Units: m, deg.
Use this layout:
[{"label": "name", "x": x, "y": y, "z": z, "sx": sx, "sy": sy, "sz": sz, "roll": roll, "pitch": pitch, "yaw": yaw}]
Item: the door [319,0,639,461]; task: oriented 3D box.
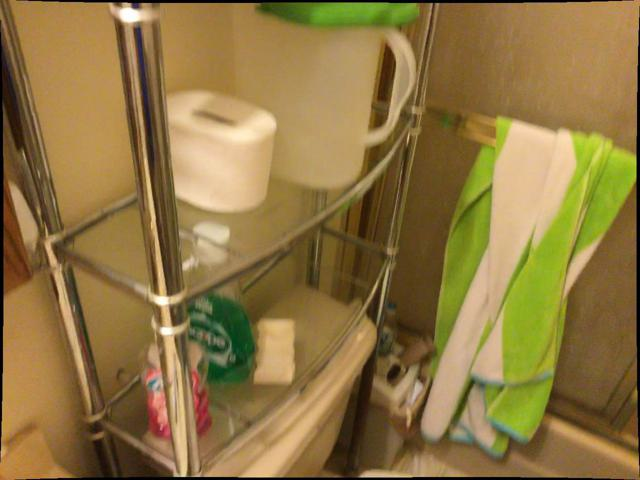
[{"label": "door", "x": 0.460, "y": -0.250, "z": 1.150, "sx": 0.840, "sy": 1.481, "sz": 0.190, "roll": 22, "pitch": 40, "yaw": 21}]

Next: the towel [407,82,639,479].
[{"label": "towel", "x": 0.420, "y": 0.180, "z": 1.290, "sx": 0.320, "sy": 0.981, "sz": 0.200, "roll": 17, "pitch": 38, "yaw": 24}]

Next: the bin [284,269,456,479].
[{"label": "bin", "x": 0.120, "y": 0.400, "z": 1.610, "sx": 0.360, "sy": 0.500, "sz": 0.230, "roll": 22, "pitch": 40, "yaw": 21}]
